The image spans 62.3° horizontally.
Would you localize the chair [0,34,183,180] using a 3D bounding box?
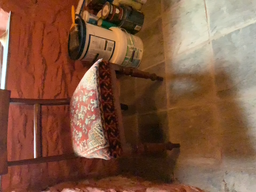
[{"bbox_3d":[-0.250,0.130,1.170,0.560,0.860,0.490,-33,60,48],"label":"chair"}]
